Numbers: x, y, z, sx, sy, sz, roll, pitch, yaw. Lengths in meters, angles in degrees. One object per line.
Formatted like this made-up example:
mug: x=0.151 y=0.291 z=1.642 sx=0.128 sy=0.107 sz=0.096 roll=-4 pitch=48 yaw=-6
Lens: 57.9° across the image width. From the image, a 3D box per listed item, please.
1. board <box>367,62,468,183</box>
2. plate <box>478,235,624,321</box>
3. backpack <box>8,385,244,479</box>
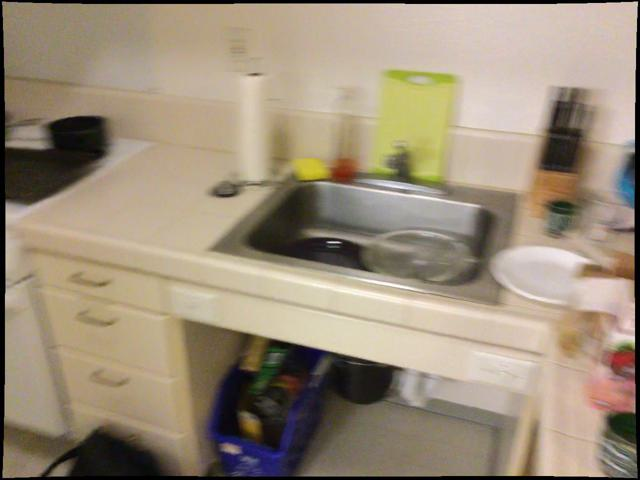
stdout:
board: x=0.260 y=-0.320 z=1.580 sx=0.240 sy=0.290 sz=0.070 roll=10 pitch=31 yaw=16
plate: x=0.470 y=0.070 z=1.190 sx=0.260 sy=0.030 sz=0.200 roll=10 pitch=31 yaw=16
backpack: x=-0.509 y=0.691 z=1.500 sx=0.450 sy=0.280 sz=0.470 roll=10 pitch=31 yaw=16
